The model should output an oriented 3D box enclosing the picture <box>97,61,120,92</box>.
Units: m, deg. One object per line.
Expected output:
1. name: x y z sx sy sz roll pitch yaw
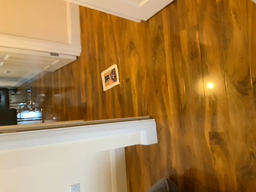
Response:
1. picture: -0.200 -0.190 2.130 0.330 0.030 0.230 -18 76 49
